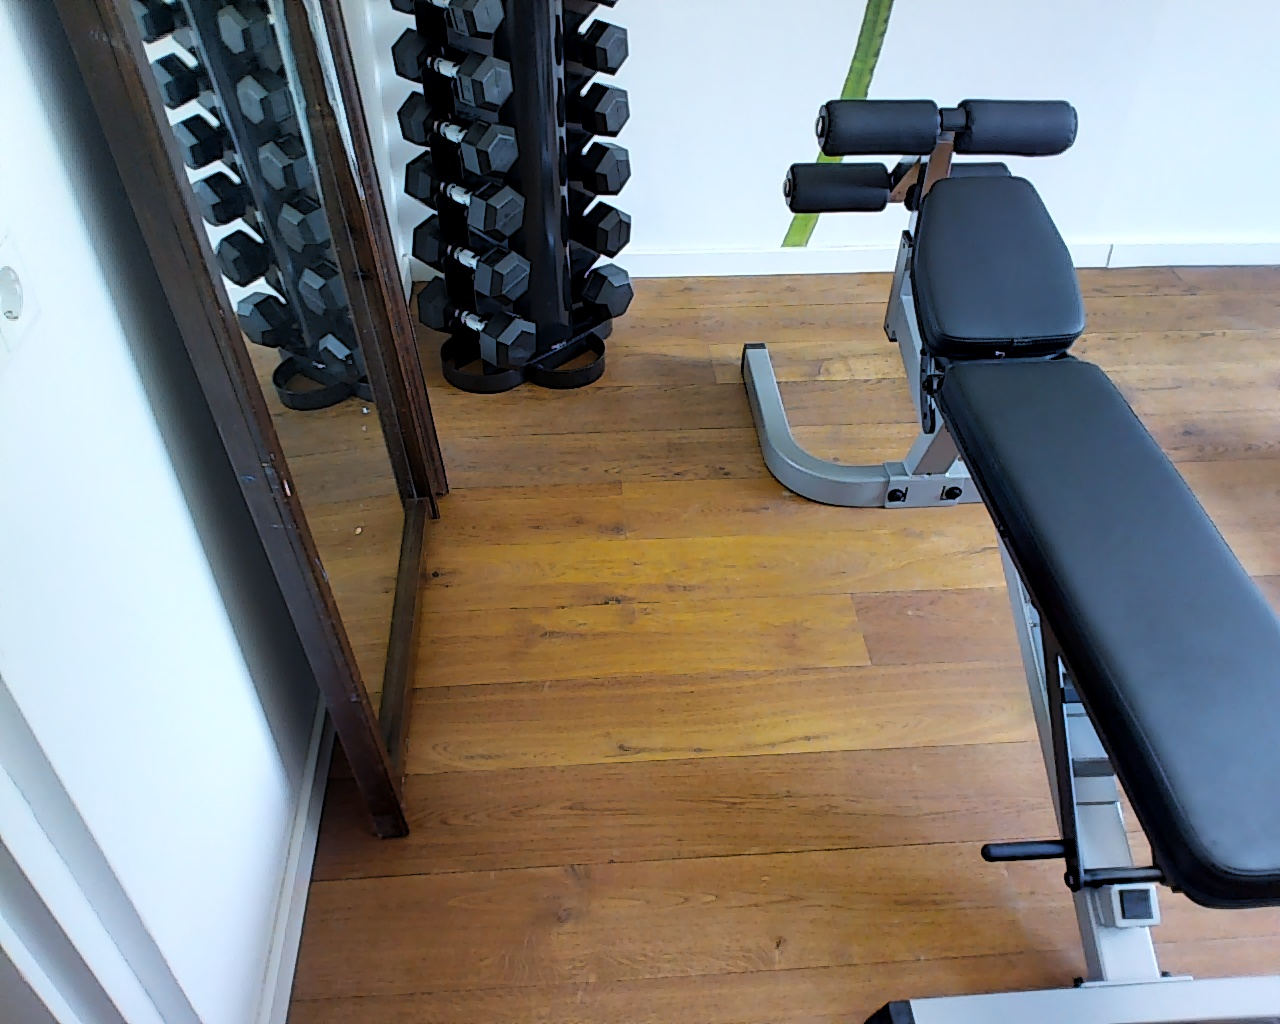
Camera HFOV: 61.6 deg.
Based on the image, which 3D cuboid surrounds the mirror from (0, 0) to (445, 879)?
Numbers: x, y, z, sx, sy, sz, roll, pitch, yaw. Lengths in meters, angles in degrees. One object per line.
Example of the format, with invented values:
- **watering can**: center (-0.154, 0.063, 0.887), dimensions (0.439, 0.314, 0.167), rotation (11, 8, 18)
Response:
- **mirror**: center (-0.450, -0.400, 1.260), dimensions (0.200, 1.790, 0.760), rotation (-2, 41, -3)
